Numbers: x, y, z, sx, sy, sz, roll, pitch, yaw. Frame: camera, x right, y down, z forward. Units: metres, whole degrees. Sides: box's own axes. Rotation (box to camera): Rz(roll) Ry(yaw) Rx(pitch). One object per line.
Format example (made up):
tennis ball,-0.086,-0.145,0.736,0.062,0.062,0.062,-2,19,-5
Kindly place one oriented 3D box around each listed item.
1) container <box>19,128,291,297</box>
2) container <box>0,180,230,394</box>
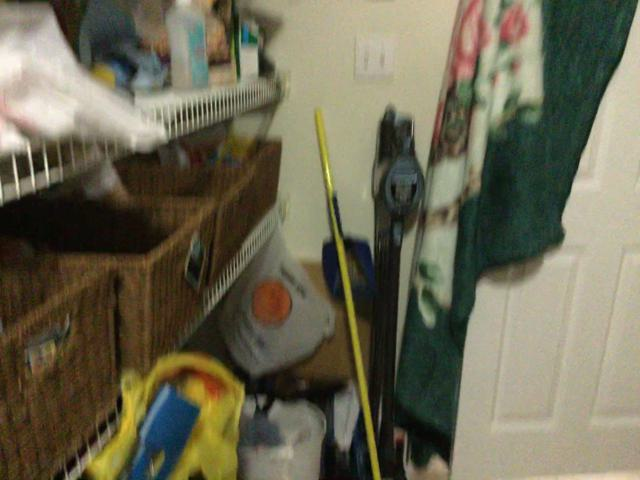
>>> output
container,-0.320,-0.110,1.380,0.360,0.210,0.660,3,19,10
container,-0.420,0.050,0.940,0.460,0.220,0.290,3,19,10
